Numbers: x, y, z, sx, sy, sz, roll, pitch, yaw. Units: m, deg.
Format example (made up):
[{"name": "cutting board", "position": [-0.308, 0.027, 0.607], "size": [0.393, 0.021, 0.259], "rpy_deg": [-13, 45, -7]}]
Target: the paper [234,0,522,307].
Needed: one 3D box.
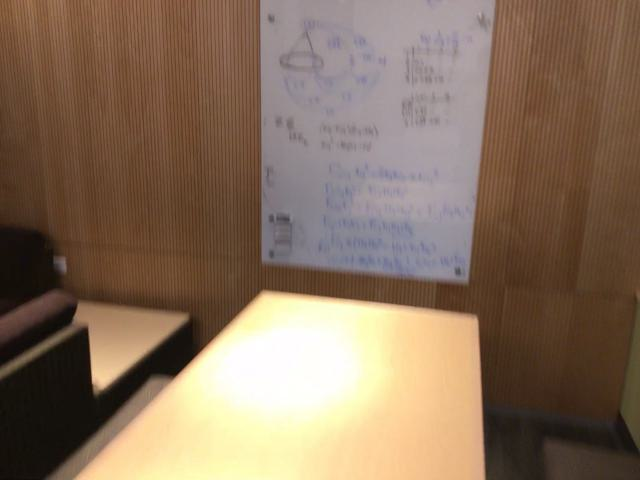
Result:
[{"name": "paper", "position": [0.200, -0.450, 2.470], "size": [0.990, 1.290, 0.080], "rpy_deg": [13, 12, 12]}]

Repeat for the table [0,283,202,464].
[{"name": "table", "position": [-1.060, 0.520, 2.530], "size": [0.820, 0.320, 0.850], "rpy_deg": [8, 14, 5]}]
